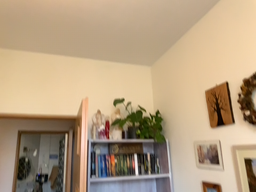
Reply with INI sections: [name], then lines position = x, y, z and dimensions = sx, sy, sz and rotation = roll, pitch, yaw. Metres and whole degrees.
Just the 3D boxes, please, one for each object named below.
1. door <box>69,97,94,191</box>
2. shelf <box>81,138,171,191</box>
[door]
position = -0.400, 1.140, 1.670
dimensions = 0.120, 2.120, 0.840
rotation = 3, -16, -16
[shelf]
position = -0.010, 1.330, 2.040
dimensions = 0.850, 1.790, 0.330
rotation = 4, -16, -19
